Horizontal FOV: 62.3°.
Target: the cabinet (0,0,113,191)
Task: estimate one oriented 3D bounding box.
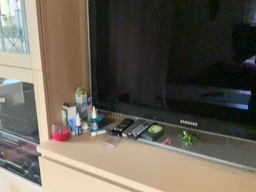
[{"bbox_3d":[-0.490,0.070,1.280,0.650,1.940,0.450,10,20,25],"label":"cabinet"}]
